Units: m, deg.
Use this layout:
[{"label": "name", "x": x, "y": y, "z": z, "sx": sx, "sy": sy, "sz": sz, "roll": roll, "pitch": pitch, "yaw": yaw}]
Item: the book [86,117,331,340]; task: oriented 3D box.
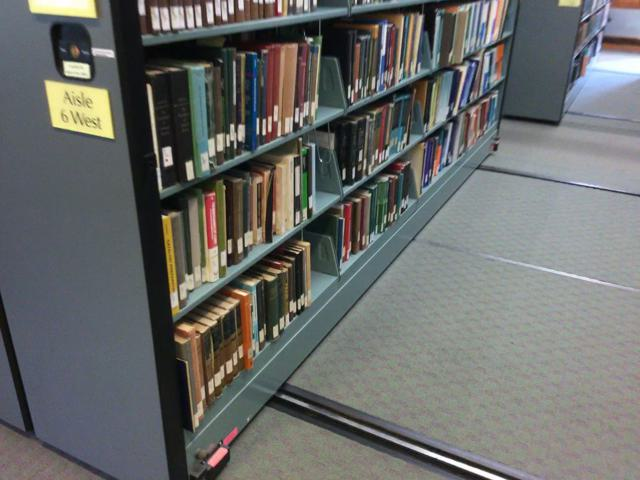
[{"label": "book", "x": -0.240, "y": -0.090, "z": 1.630, "sx": 0.200, "sy": 0.320, "sz": 0.820, "roll": 12, "pitch": 28, "yaw": 24}]

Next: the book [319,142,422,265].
[{"label": "book", "x": 0.240, "y": -0.190, "z": 2.490, "sx": 0.120, "sy": 0.250, "sz": 0.840, "roll": 12, "pitch": 28, "yaw": 24}]

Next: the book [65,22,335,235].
[{"label": "book", "x": -0.230, "y": -0.340, "z": 1.490, "sx": 0.210, "sy": 0.350, "sz": 0.790, "roll": 12, "pitch": 28, "yaw": 24}]

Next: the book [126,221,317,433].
[{"label": "book", "x": -0.240, "y": 0.210, "z": 1.700, "sx": 0.160, "sy": 0.280, "sz": 0.690, "roll": 12, "pitch": 28, "yaw": 24}]

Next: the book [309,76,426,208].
[{"label": "book", "x": 0.220, "y": -0.430, "z": 2.330, "sx": 0.130, "sy": 0.310, "sz": 0.870, "roll": 12, "pitch": 28, "yaw": 24}]

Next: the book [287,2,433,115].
[{"label": "book", "x": 0.190, "y": -0.730, "z": 2.220, "sx": 0.210, "sy": 0.300, "sz": 0.880, "roll": 12, "pitch": 28, "yaw": 24}]

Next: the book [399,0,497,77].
[{"label": "book", "x": 0.660, "y": -1.050, "z": 2.880, "sx": 0.230, "sy": 0.320, "sz": 0.850, "roll": 12, "pitch": 28, "yaw": 24}]

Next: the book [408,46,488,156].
[{"label": "book", "x": 0.690, "y": -0.760, "z": 3.020, "sx": 0.100, "sy": 0.370, "sz": 1.020, "roll": 12, "pitch": 28, "yaw": 24}]
